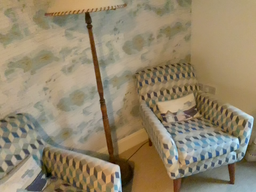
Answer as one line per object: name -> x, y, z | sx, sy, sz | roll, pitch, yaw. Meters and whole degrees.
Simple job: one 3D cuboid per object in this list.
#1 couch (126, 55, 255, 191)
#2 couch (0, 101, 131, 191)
couch -> 0.490, 0.210, 1.930 | 0.730, 0.870, 0.900 | -12, 25, -11
couch -> -0.590, 0.630, 1.320 | 0.970, 0.830, 0.720 | 10, 29, 32
